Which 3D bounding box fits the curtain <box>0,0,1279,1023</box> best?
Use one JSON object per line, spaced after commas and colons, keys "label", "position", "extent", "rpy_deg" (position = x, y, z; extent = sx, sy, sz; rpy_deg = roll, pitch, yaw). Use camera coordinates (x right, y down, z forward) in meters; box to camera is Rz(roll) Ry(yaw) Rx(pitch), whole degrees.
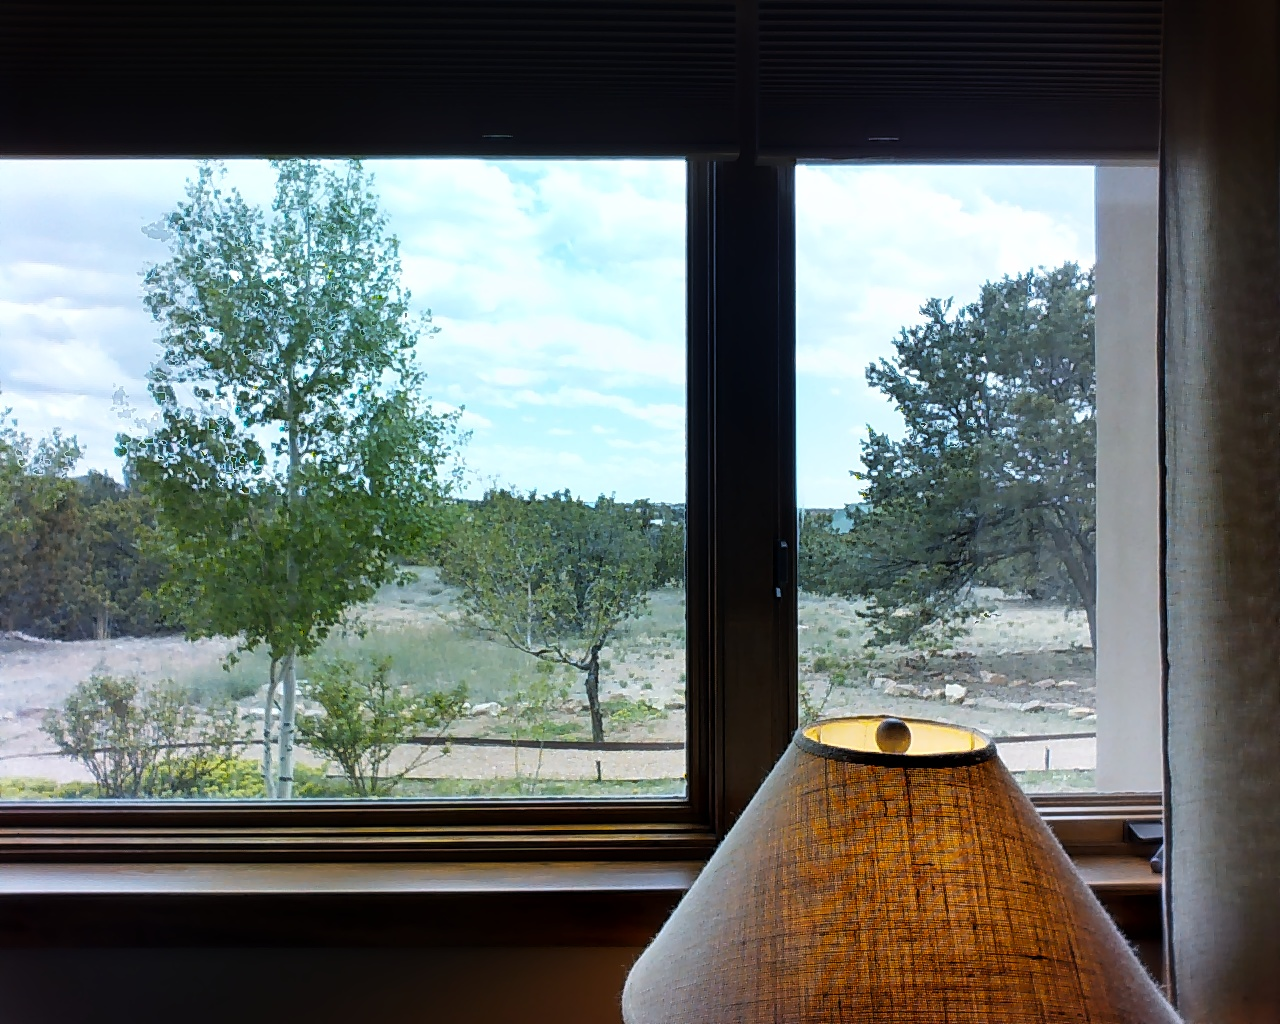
{"label": "curtain", "position": [-0.570, -0.040, 1.220], "extent": [3.599, 2.901, 0.350], "rpy_deg": [0, 0, -2]}
